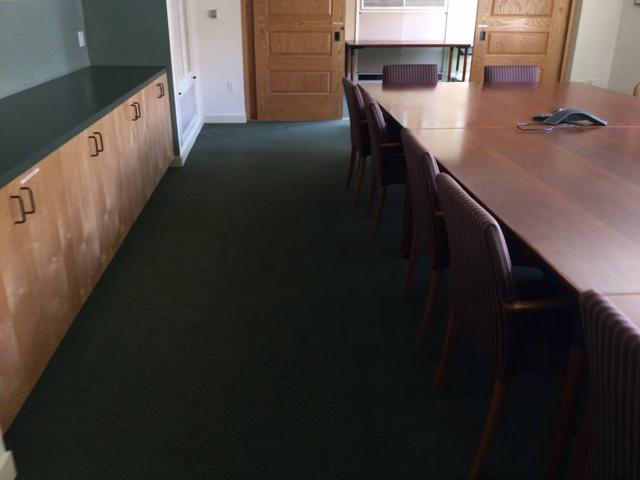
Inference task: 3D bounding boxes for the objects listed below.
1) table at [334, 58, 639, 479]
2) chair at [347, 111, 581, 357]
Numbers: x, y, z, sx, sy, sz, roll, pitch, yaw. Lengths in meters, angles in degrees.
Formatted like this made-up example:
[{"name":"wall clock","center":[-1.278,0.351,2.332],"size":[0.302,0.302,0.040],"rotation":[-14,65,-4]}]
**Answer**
[{"name":"table","center":[1.370,0.070,2.190],"size":[2.130,0.830,5.470],"rotation":[-5,23,-2]},{"name":"chair","center":[0.540,-0.060,2.460],"size":[0.750,0.800,0.660],"rotation":[-5,23,-2]}]
